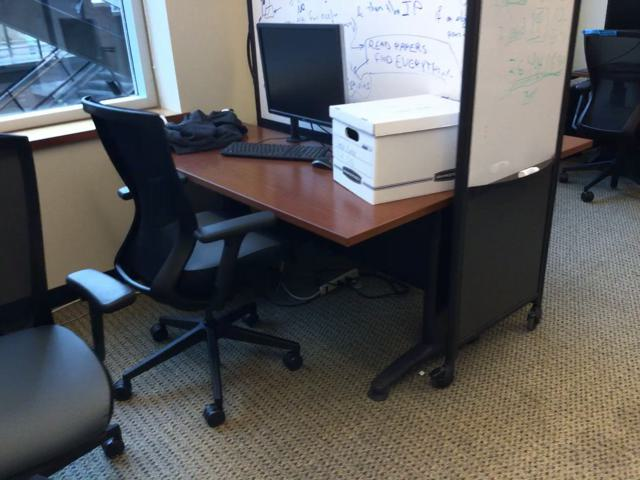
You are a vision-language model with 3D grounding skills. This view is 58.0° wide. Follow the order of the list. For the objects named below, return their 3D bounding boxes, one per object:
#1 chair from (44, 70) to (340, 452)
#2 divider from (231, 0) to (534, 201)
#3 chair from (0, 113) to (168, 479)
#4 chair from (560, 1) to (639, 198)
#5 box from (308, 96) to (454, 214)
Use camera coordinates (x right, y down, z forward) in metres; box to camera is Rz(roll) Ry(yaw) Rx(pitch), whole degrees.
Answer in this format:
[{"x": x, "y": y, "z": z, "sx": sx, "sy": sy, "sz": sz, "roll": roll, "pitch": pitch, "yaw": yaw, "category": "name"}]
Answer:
[{"x": -0.420, "y": 0.010, "z": 2.040, "sx": 0.630, "sy": 1.050, "sz": 0.660, "roll": -21, "pitch": 28, "yaw": -30, "category": "chair"}, {"x": 0.120, "y": -0.840, "z": 2.300, "sx": 0.230, "sy": 1.020, "sz": 1.520, "roll": -21, "pitch": 28, "yaw": -30, "category": "divider"}, {"x": -0.840, "y": 0.330, "z": 1.390, "sx": 0.640, "sy": 1.080, "sz": 0.580, "roll": -21, "pitch": 28, "yaw": -30, "category": "chair"}, {"x": 1.960, "y": -0.840, "z": 3.390, "sx": 0.670, "sy": 1.000, "sz": 0.700, "roll": -21, "pitch": 28, "yaw": -30, "category": "chair"}, {"x": 0.200, "y": -0.300, "z": 1.930, "sx": 0.270, "sy": 0.270, "sz": 0.410, "roll": -21, "pitch": 28, "yaw": -30, "category": "box"}]
